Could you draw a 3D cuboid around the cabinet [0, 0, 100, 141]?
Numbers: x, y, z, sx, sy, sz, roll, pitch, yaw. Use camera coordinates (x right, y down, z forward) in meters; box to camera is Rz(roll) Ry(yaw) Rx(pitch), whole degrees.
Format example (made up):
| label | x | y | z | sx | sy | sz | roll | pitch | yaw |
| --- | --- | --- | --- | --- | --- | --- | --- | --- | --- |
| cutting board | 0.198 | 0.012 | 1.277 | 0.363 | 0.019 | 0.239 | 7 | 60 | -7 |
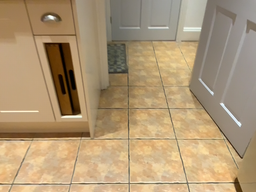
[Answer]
| label | x | y | z | sx | sy | sz | roll | pitch | yaw |
| --- | --- | --- | --- | --- | --- | --- | --- | --- | --- |
| cabinet | -0.560 | -0.250 | 1.370 | 0.640 | 0.910 | 0.600 | 1 | 37 | -1 |
